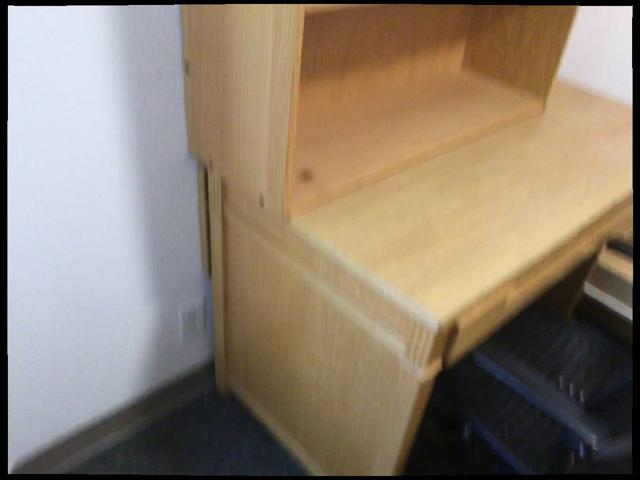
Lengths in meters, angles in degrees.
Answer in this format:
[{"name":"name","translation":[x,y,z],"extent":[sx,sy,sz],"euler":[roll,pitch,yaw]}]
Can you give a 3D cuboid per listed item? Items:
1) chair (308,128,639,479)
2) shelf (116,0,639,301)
[{"name":"chair","translation":[0.449,0.321,1.240],"extent":[0.709,0.811,0.570],"euler":[-25,45,-35]},{"name":"shelf","translation":[0.190,-0.571,1.180],"extent":[0.959,0.801,0.760],"euler":[-23,45,-34]}]
